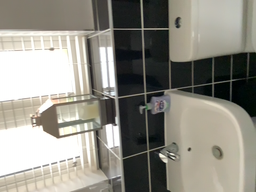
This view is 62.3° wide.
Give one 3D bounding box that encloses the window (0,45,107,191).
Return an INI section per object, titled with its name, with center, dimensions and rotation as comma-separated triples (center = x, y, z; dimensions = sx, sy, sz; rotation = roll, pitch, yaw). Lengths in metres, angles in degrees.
[window]
center = -0.630, 0.140, 1.170
dimensions = 0.080, 0.990, 0.780
rotation = 12, 108, 63
